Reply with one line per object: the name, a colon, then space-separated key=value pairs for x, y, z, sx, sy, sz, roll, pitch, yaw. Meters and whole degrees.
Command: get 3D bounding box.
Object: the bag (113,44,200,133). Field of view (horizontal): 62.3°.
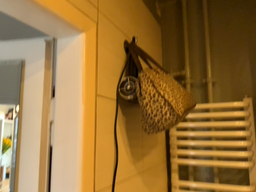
bag: x=0.130 y=0.010 z=0.780 sx=0.200 sy=0.240 sz=0.400 roll=-4 pitch=-9 yaw=24
